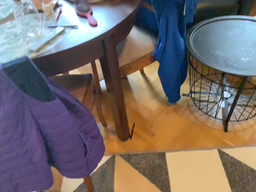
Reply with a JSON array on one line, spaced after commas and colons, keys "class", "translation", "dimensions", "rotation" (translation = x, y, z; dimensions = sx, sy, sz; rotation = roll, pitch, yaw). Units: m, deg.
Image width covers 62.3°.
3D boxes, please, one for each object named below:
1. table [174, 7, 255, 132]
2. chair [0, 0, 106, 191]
[{"class": "table", "translation": [0.630, -0.180, 1.370], "dimensions": [0.550, 0.480, 0.630], "rotation": [-3, 46, 5]}, {"class": "chair", "translation": [-0.400, 0.070, 0.980], "dimensions": [0.410, 0.880, 0.510], "rotation": [-4, 45, 4]}]
